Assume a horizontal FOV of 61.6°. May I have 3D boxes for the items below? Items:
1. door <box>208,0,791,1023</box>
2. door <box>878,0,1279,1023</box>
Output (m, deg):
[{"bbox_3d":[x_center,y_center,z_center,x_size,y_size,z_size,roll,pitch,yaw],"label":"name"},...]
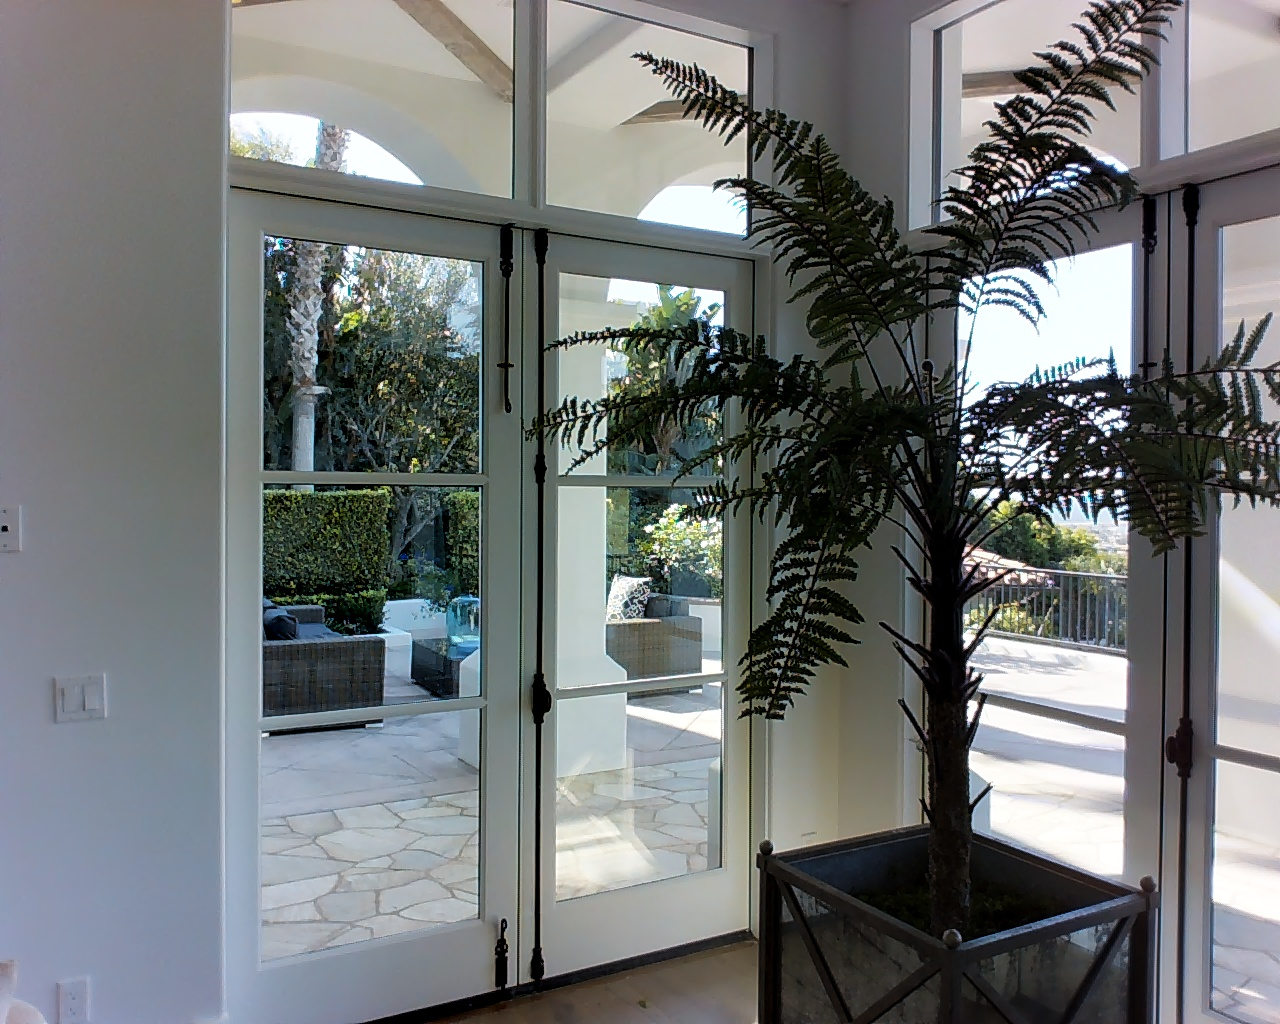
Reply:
[{"bbox_3d":[-0.350,-0.050,3.400,1.810,3.211,0.190,1,1,-30],"label":"door"},{"bbox_3d":[1.400,-0.030,2.940,0.170,3.181,1.840,1,1,-30],"label":"door"}]
